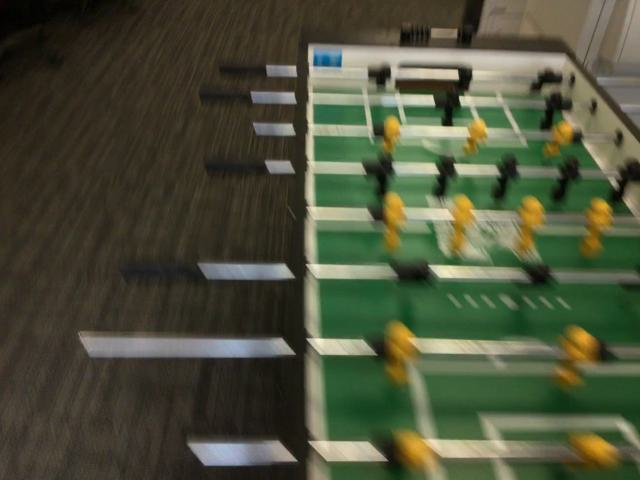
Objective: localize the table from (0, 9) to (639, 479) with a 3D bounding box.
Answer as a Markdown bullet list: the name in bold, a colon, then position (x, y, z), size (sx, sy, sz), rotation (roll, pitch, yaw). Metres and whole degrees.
- **table**: position (0.280, 0.220, 1.310), size (1.240, 0.950, 1.390), rotation (1, 41, -1)
